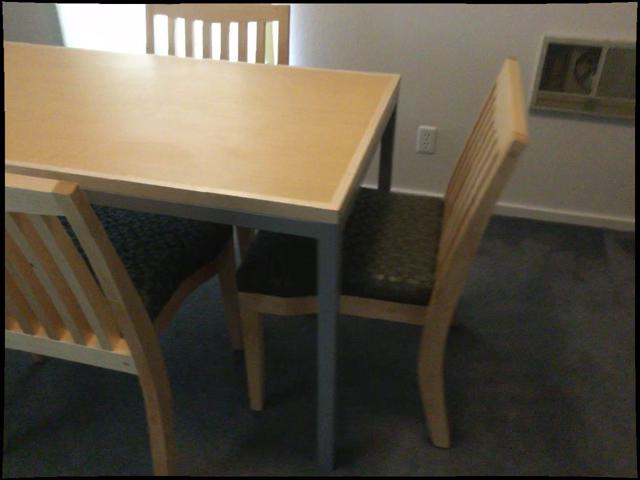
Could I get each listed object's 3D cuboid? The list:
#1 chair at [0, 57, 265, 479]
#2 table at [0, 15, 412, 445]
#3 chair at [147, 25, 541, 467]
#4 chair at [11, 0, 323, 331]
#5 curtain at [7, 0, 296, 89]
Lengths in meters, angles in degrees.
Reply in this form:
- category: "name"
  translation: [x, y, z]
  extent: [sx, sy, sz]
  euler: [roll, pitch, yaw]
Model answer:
- category: "chair"
  translation: [-0.598, 0.100, 1.440]
  extent: [0.629, 0.932, 0.610]
  euler: [3, 31, 16]
- category: "table"
  translation: [-0.539, -0.050, 1.730]
  extent: [1.407, 0.761, 0.831]
  euler: [-1, 36, 21]
- category: "chair"
  translation: [0.110, 0.000, 1.540]
  extent: [0.718, 0.932, 0.610]
  euler: [6, 37, 13]
- category: "chair"
  translation: [-0.399, -0.281, 2.000]
  extent: [0.569, 0.921, 0.721]
  euler: [1, 40, 14]
- category: "curtain"
  translation: [-0.708, -1.033, 2.220]
  extent: [1.097, 0.831, 0.250]
  euler: [4, 37, 18]
